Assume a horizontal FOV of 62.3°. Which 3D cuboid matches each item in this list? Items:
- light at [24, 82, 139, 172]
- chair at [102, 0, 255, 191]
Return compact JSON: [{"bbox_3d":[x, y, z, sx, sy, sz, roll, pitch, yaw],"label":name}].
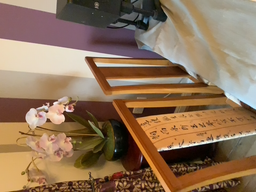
[{"bbox_3d":[-0.310,0.180,1.350,0.300,0.610,0.410,47,129,54],"label":"light"},{"bbox_3d":[0.500,-0.060,0.780,0.500,1.000,0.530,52,133,53],"label":"chair"}]
